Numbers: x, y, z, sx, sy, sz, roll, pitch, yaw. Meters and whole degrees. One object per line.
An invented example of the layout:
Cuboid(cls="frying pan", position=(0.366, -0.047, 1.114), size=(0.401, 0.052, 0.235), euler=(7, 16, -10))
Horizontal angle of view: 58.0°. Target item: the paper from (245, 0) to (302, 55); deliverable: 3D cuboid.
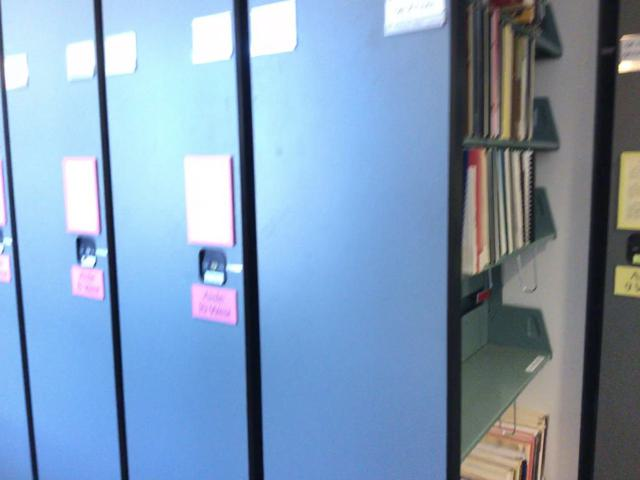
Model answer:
Cuboid(cls="paper", position=(-0.110, -0.510, 1.350), size=(0.140, 0.120, 0.030), euler=(0, 4, 35))

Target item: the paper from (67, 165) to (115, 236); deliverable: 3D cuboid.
Cuboid(cls="paper", position=(-0.710, -0.120, 1.790), size=(0.190, 0.210, 0.020), euler=(0, 4, 35))

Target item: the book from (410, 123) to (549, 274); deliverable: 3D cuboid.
Cuboid(cls="book", position=(0.440, -0.110, 1.490), size=(0.130, 0.310, 0.650), euler=(0, 4, 34))

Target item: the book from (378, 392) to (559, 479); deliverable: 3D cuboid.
Cuboid(cls="book", position=(0.510, 0.740, 1.860), size=(0.340, 0.250, 0.700), euler=(0, 4, 34))

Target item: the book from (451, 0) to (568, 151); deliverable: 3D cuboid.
Cuboid(cls="book", position=(0.490, -0.430, 1.420), size=(0.090, 0.380, 0.650), euler=(0, 4, 34))

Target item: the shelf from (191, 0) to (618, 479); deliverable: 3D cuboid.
Cuboid(cls="shelf", position=(0.330, -0.060, 1.680), size=(0.800, 2.550, 1.040), euler=(0, 4, 34))
